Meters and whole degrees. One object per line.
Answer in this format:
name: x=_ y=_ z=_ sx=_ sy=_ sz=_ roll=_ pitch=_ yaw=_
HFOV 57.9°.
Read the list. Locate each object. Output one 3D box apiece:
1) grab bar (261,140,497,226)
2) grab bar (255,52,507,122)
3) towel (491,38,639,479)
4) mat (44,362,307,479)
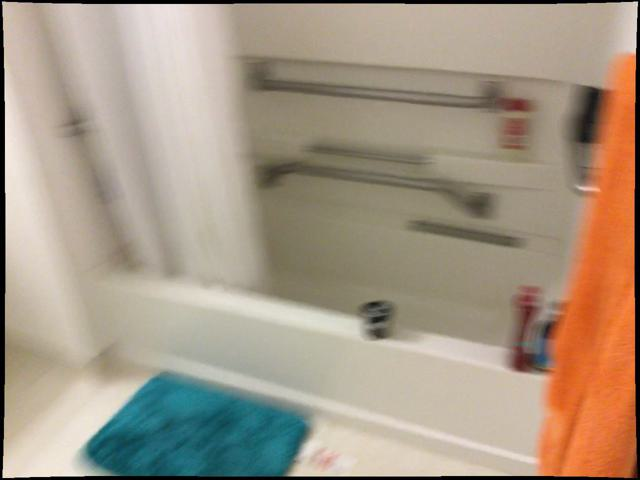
grab bar: x=0.200 y=-0.220 z=2.130 sx=0.849 sy=0.140 sz=0.130 roll=11 pitch=33 yaw=16
grab bar: x=0.190 y=-0.531 z=1.980 sx=0.849 sy=0.110 sz=0.110 roll=11 pitch=33 yaw=16
towel: x=0.420 y=0.130 z=0.870 sx=0.190 sy=0.680 sz=0.710 roll=11 pitch=33 yaw=16
mat: x=-0.410 y=0.611 z=1.740 sx=0.619 sy=0.040 sz=0.460 roll=11 pitch=33 yaw=16
